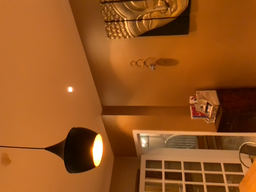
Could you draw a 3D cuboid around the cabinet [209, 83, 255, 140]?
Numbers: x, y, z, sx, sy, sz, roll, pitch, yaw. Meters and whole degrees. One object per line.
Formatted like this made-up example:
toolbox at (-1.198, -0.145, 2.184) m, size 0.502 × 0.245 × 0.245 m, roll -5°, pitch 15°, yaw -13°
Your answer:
cabinet at (1.610, 0.220, 2.850) m, size 0.450 × 0.840 × 0.630 m, roll -81°, pitch -13°, yaw -47°
